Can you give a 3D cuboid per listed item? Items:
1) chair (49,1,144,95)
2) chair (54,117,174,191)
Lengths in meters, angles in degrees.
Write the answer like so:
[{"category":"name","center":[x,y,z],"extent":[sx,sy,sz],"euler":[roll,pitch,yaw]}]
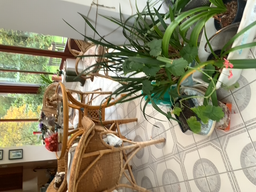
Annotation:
[{"category":"chair","center":[-0.420,-0.520,2.460],"extent":[0.600,0.820,0.770],"euler":[61,139,46]},{"category":"chair","center":[-0.160,0.590,1.870],"extent":[0.660,0.810,0.690],"euler":[13,99,63]}]
